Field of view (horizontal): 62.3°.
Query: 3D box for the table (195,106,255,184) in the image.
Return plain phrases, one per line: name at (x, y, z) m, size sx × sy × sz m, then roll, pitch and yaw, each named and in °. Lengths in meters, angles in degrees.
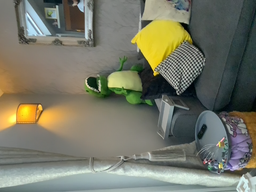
table at (0.770, 0.310, 1.440) m, size 0.360 × 0.430 × 0.360 m, roll -107°, pitch 19°, yaw -63°
